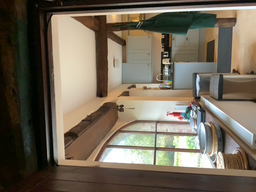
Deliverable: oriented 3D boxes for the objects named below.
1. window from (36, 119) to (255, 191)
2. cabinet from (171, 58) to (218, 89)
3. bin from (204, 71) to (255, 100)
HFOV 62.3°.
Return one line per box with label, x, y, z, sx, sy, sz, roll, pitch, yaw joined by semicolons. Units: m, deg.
window;0.250;0.540;2.410;2.350;1.360;0.100;-28;-61;-81
cabinet;1.450;-0.510;4.730;0.360;0.930;0.640;-52;-37;-78
bin;1.300;-0.130;2.710;0.510;0.510;0.320;-13;-76;-82
